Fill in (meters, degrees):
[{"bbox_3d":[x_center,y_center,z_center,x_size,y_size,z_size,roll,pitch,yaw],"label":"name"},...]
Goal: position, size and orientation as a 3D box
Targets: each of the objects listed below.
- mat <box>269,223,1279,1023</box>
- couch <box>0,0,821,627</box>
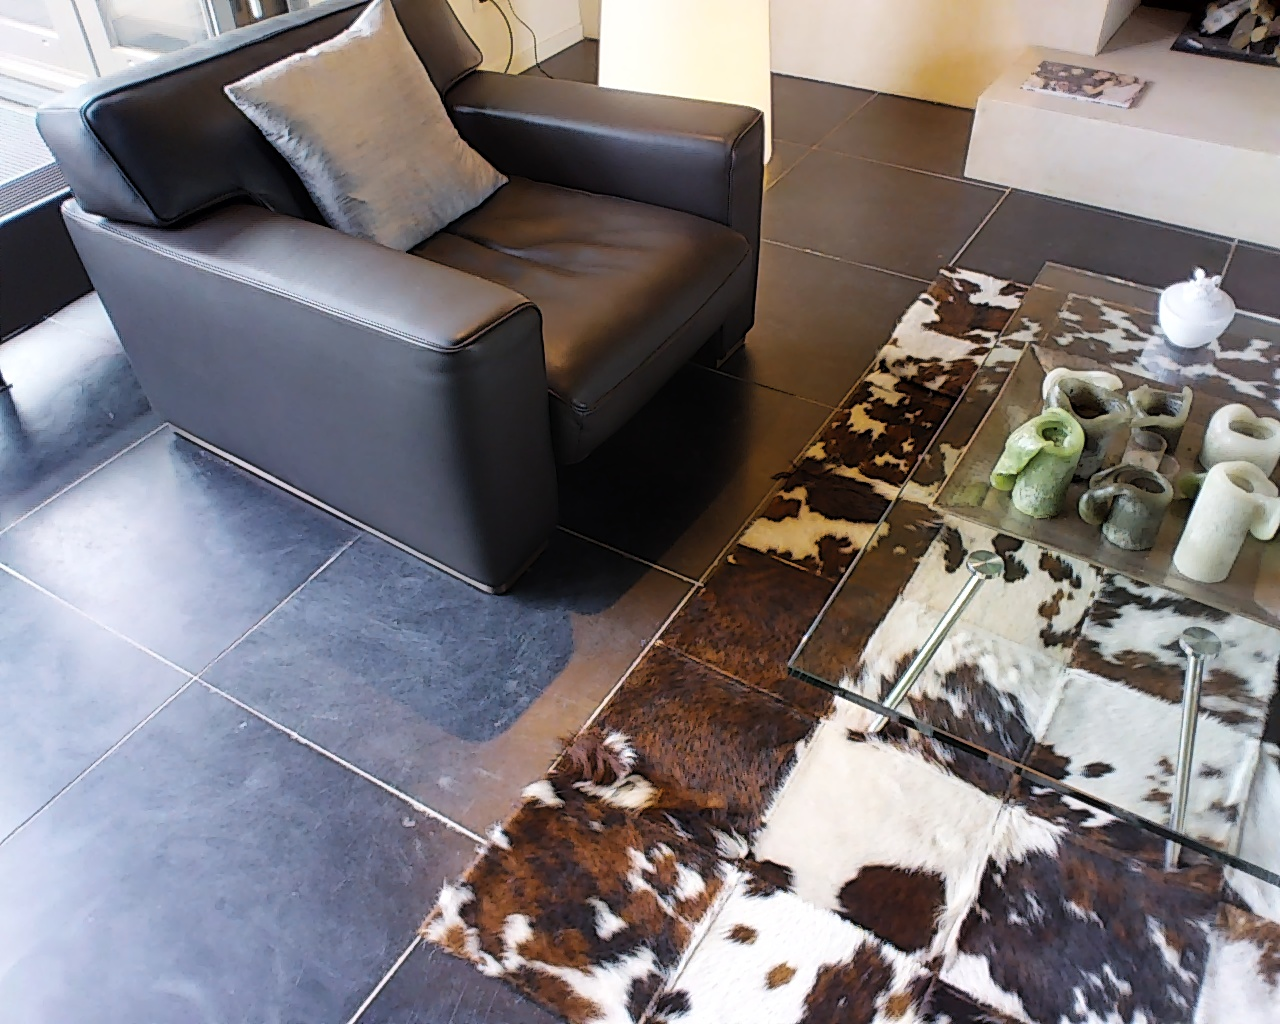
[{"bbox_3d":[0.740,0.150,1.840,1.440,0.050,2.300,22,46,24],"label":"mat"},{"bbox_3d":[-0.410,-0.560,2.140,1.130,0.720,1.040,21,46,24],"label":"couch"}]
